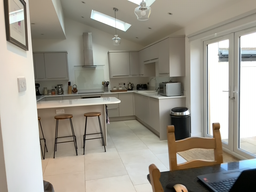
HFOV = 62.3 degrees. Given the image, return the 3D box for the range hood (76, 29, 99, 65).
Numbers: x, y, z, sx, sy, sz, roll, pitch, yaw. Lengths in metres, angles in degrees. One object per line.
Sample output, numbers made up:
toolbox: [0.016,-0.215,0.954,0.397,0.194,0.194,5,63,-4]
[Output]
range hood: [-1.220,-1.470,6.400,0.640,1.010,0.300,-3,6,-11]
